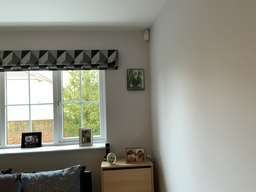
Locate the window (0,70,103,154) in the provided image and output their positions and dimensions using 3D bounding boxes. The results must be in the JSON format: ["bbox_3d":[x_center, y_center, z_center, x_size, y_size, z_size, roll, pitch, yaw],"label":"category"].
[{"bbox_3d":[-1.190,0.170,2.460,1.770,0.940,0.090,-1,-2,-10],"label":"window"}]
